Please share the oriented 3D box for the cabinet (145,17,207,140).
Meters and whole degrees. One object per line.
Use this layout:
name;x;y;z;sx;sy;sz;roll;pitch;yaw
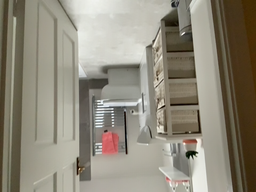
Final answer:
cabinet;0.330;-0.110;1.610;0.320;0.830;0.370;-3;172;-2
